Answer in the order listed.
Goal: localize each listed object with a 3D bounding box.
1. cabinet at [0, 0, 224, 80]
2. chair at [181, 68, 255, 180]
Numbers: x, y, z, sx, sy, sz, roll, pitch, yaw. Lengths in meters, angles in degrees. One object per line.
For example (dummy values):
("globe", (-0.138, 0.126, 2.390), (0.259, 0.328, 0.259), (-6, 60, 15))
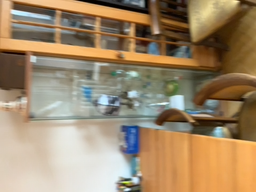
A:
("cabinet", (-0.030, -0.440, 1.810), (0.400, 1.820, 0.450), (162, 107, -65))
("chair", (0.770, 0.130, 1.180), (0.490, 0.770, 0.440), (170, 100, -66))
